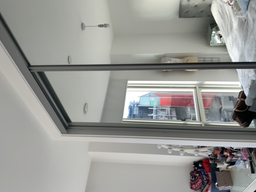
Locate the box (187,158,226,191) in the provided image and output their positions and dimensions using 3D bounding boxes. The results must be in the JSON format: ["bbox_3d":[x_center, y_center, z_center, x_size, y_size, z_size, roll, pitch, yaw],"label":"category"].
[{"bbox_3d":[0.980,1.030,2.700,0.230,0.380,0.370,82,-168,-49],"label":"box"}]
